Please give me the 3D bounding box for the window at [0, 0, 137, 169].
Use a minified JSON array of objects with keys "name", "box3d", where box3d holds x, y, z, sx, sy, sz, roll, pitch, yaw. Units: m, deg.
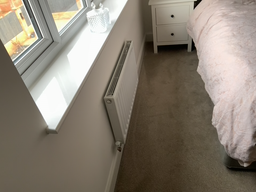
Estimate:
[{"name":"window","box3d":[-0.280,-0.860,1.090,0.210,1.410,1.860,2,40,13]}]
